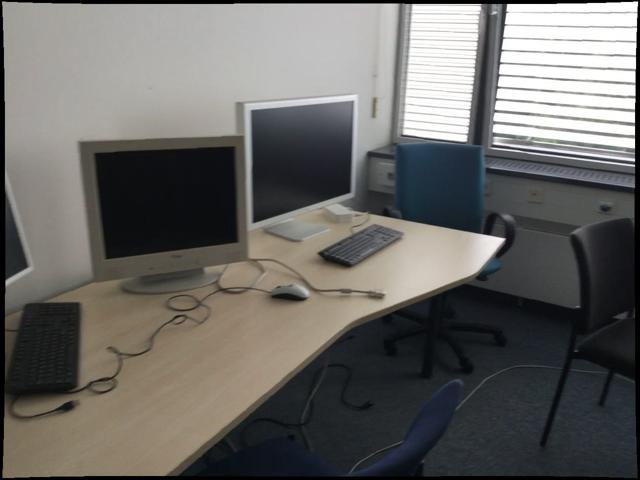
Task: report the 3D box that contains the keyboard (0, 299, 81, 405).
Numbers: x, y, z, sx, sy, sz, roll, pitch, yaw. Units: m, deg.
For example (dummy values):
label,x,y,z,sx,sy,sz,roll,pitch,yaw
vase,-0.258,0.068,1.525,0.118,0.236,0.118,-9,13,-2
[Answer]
label,x,y,z,sx,sy,sz,roll,pitch,yaw
keyboard,-0.679,0.250,1.360,0.180,0.030,0.400,-4,22,-15

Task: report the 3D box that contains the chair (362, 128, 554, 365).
label,x,y,z,sx,sy,sz,roll,pitch,yaw
chair,0.599,0.000,2.860,0.639,0.951,0.750,1,21,-3

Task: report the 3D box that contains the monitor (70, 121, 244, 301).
label,x,y,z,sx,sy,sz,roll,pitch,yaw
monitor,-0.470,-0.100,1.730,0.450,0.460,0.150,-10,24,-28

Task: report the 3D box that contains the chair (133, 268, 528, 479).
label,x,y,z,sx,sy,sz,roll,pitch,yaw
chair,0.010,0.551,1.160,0.500,0.771,0.490,20,27,39
